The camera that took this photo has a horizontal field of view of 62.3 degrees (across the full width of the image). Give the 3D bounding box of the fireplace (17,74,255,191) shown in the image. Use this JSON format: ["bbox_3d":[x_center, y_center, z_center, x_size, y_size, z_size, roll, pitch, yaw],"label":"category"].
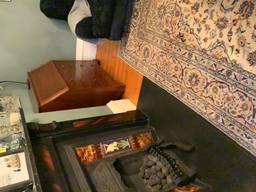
[{"bbox_3d":[-0.040,0.500,1.540,1.430,1.200,0.780,44,130,47],"label":"fireplace"}]
